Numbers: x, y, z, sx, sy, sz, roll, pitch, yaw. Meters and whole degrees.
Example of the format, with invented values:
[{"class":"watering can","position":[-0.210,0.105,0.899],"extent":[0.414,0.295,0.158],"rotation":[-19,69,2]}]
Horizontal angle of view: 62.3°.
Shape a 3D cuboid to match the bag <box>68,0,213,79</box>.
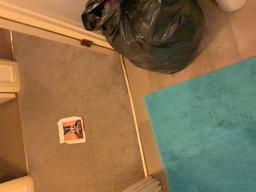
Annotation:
[{"class":"bag","position":[0.070,-0.380,1.010],"extent":[0.440,0.510,0.480],"rotation":[-13,82,34]}]
